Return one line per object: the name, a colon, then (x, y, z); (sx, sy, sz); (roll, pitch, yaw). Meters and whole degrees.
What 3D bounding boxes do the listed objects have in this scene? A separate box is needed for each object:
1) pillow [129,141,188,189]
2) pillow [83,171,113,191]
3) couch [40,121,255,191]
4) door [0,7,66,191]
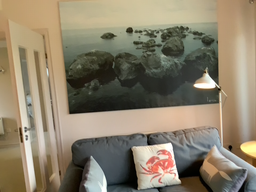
pillow: (0.270, 0.650, 2.010); (0.480, 0.380, 0.190); (-3, -22, -5)
pillow: (-0.240, 0.810, 1.810); (0.190, 0.300, 0.560); (-4, -19, -3)
couch: (0.280, 0.830, 2.000); (1.810, 0.820, 0.830); (-6, 7, -8)
door: (-0.990, 0.280, 2.290); (0.200, 2.100, 0.940); (-5, 7, -3)
